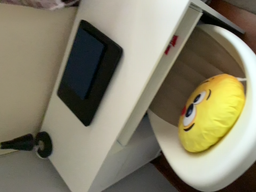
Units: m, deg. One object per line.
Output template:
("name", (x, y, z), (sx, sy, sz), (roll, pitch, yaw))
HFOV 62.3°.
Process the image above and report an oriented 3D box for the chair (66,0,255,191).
("chair", (0.320, 0.000, 0.980), (0.680, 0.790, 0.610), (43, 120, 26))
